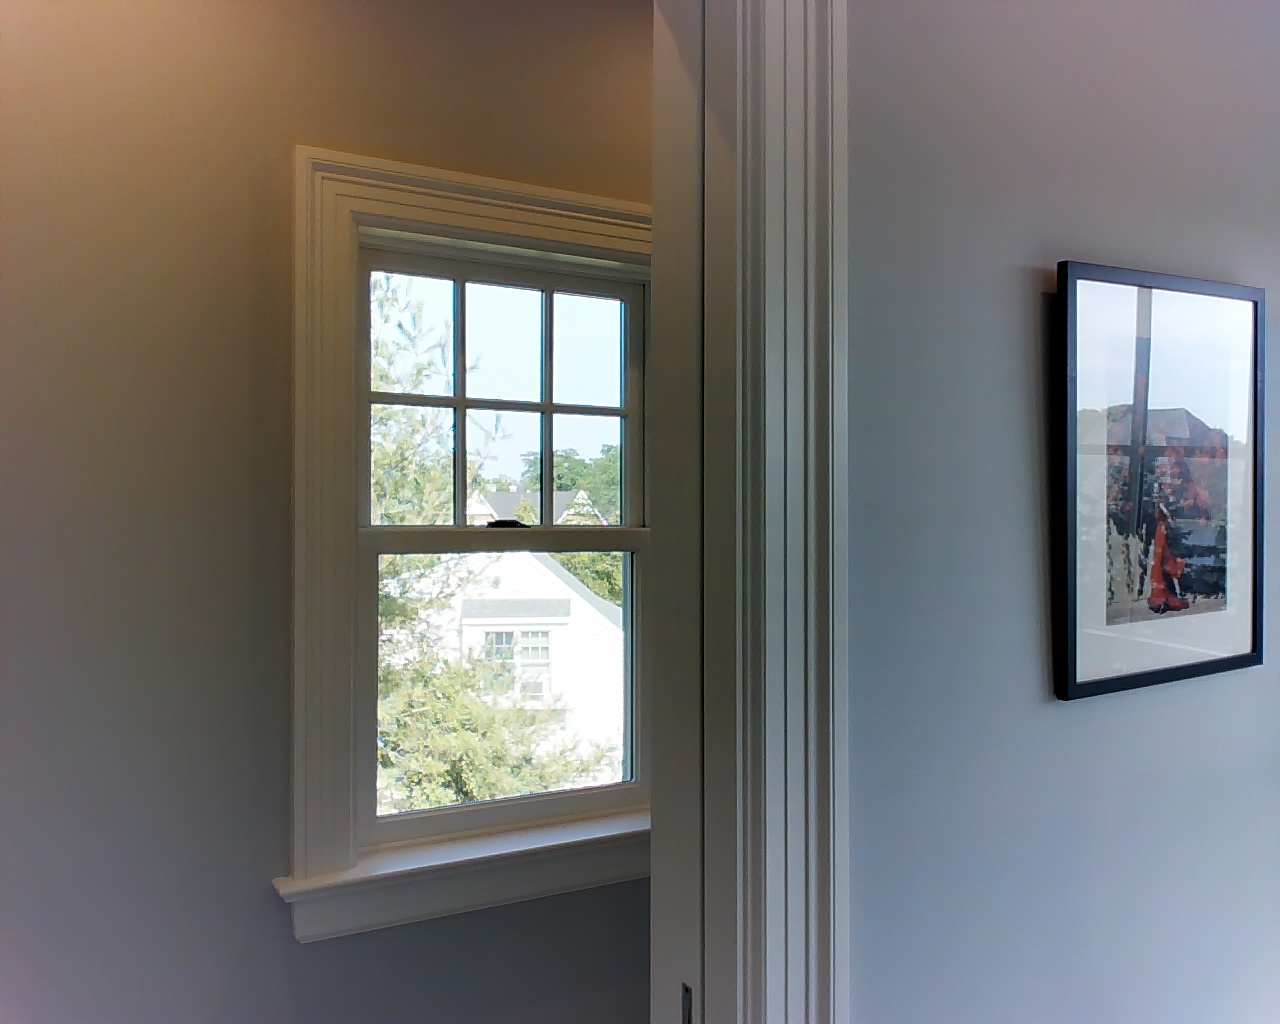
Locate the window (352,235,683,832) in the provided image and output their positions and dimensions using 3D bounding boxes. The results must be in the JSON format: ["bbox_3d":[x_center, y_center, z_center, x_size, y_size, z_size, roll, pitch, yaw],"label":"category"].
[{"bbox_3d":[-0.230,0.040,2.220,0.710,1.110,0.080,0,-1,-32],"label":"window"}]
